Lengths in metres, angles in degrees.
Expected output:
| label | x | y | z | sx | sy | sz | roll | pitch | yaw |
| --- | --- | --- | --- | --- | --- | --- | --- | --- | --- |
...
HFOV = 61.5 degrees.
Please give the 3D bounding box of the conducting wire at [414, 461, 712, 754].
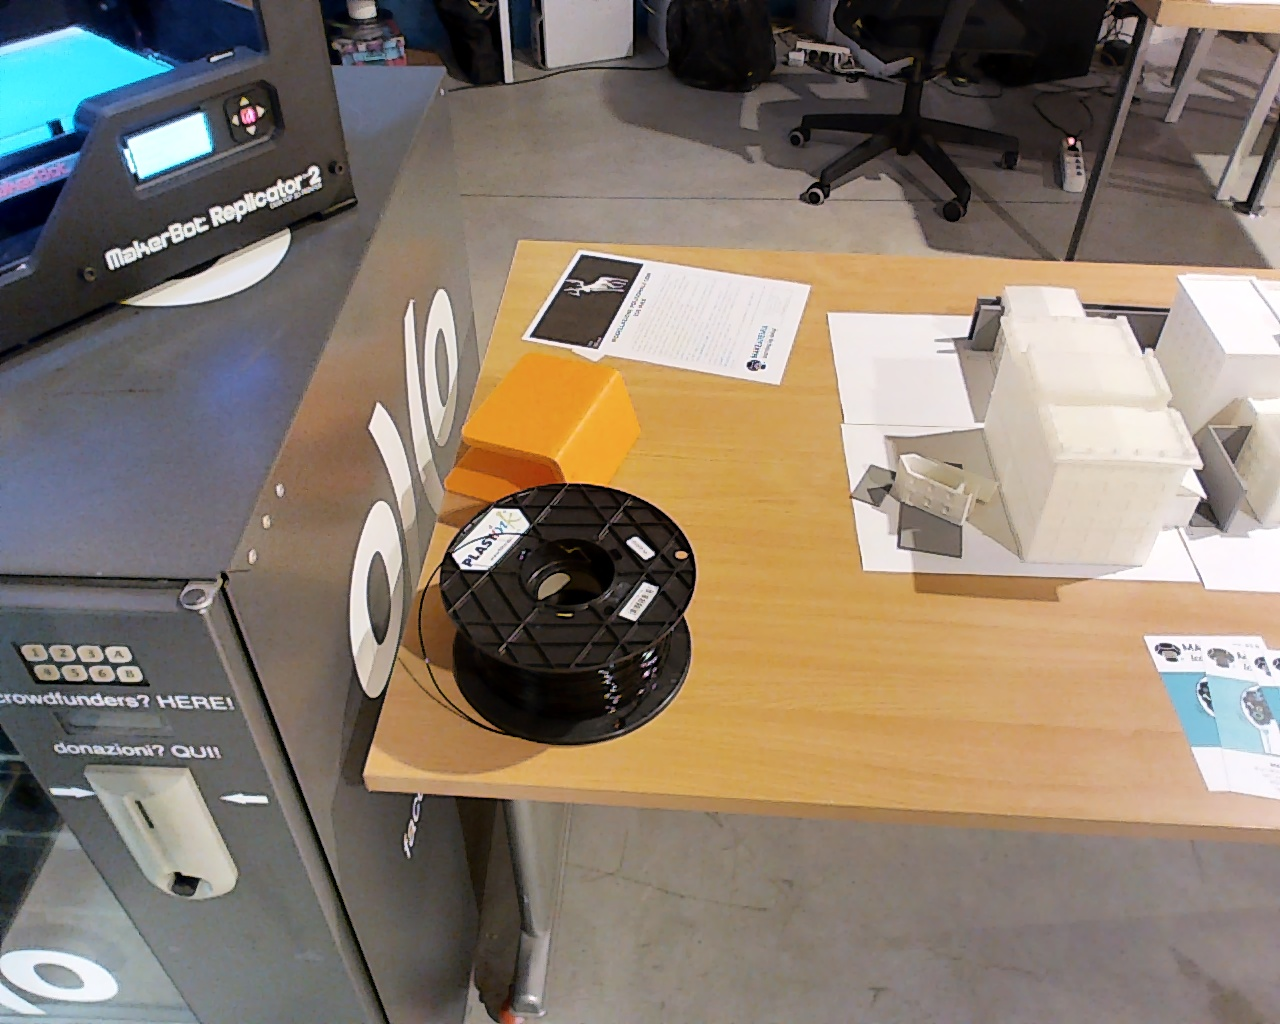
| label | x | y | z | sx | sy | sz | roll | pitch | yaw |
| --- | --- | --- | --- | --- | --- | --- | --- | --- | --- |
| conducting wire | -0.050 | 0.070 | 0.870 | 0.210 | 0.100 | 0.220 | 2 | 42 | 2 |
